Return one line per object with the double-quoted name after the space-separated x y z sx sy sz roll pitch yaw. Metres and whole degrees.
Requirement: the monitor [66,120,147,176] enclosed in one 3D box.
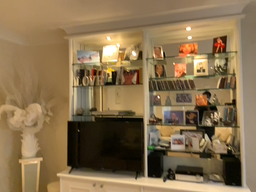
-0.280 0.610 2.590 1.010 0.610 0.090 0 -1 15 "monitor"
